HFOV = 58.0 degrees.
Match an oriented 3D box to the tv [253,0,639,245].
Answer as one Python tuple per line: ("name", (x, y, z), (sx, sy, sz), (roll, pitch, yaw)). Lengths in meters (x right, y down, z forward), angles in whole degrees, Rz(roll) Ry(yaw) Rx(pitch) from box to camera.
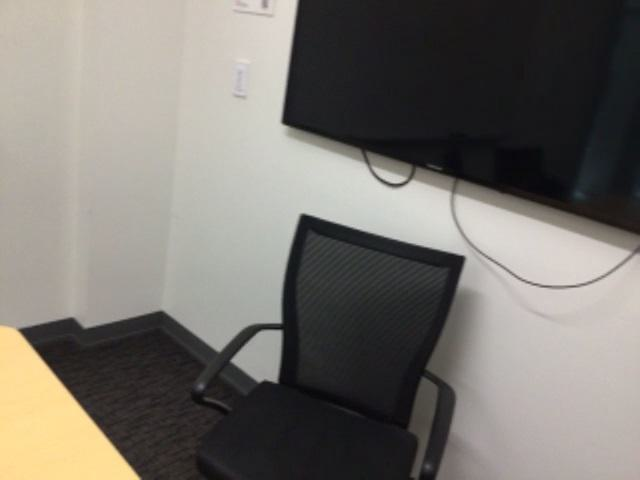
("tv", (0.320, -0.540, 1.490), (1.210, 0.740, 0.140), (24, 21, 39))
